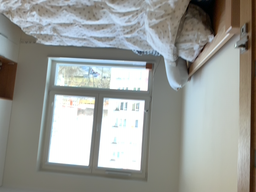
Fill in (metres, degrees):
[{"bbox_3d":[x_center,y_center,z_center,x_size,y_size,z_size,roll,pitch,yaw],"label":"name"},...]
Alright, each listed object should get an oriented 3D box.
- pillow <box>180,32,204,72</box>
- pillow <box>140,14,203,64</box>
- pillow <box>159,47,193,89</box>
[{"bbox_3d":[0.650,-0.430,2.200,0.150,0.240,0.550,3,174,9],"label":"pillow"},{"bbox_3d":[0.360,-0.500,1.990,0.470,0.190,0.700,4,174,4],"label":"pillow"},{"bbox_3d":[0.570,-0.330,2.590,0.330,0.420,0.350,4,174,3],"label":"pillow"}]
